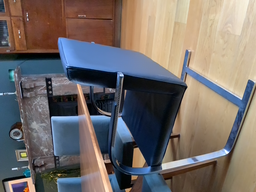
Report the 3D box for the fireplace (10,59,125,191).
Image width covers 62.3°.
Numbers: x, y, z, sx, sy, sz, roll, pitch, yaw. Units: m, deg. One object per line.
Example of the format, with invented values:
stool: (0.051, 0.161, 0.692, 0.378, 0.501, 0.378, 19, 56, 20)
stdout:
fireplace: (-0.850, 0.400, 3.230, 0.750, 1.330, 1.740, -128, 37, -59)
